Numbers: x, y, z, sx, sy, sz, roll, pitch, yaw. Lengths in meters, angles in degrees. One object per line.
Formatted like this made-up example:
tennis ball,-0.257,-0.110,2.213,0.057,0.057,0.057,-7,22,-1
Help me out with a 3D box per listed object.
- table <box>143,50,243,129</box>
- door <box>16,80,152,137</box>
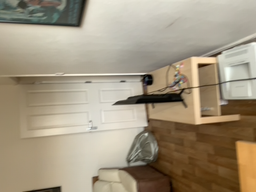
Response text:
table,0.580,-0.060,2.210,1.040,0.440,0.610,180,87,-71
door,-0.640,0.160,3.470,0.170,2.090,0.780,154,111,-70
